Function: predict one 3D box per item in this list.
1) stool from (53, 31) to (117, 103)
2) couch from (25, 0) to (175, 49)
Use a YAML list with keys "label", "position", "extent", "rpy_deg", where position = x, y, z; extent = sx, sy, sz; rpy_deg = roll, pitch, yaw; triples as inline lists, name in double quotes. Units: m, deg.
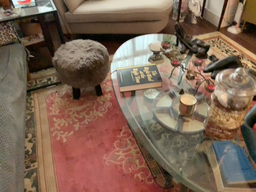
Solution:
- label: "stool"
  position: [-0.370, -0.260, 1.840]
  extent: [0.410, 0.380, 0.400]
  rpy_deg: [-15, 44, -12]
- label: "couch"
  position: [-0.260, -1.090, 2.410]
  extent: [1.480, 0.820, 0.710]
  rpy_deg: [0, 42, 5]
